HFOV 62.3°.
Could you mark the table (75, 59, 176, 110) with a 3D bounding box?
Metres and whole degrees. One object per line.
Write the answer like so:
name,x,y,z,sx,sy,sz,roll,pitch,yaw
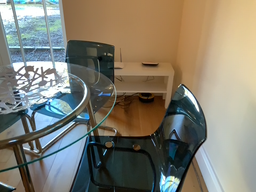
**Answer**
table,-0.030,-0.130,2.410,1.030,0.480,0.270,2,29,1
